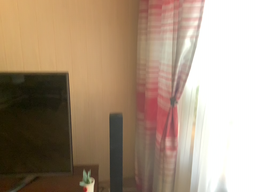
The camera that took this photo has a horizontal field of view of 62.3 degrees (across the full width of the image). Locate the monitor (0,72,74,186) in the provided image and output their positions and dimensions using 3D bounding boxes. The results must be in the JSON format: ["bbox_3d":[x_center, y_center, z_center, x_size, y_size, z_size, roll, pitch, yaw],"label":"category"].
[{"bbox_3d":[-1.010,0.230,1.360,1.260,0.770,0.050,0,14,-5],"label":"monitor"}]
